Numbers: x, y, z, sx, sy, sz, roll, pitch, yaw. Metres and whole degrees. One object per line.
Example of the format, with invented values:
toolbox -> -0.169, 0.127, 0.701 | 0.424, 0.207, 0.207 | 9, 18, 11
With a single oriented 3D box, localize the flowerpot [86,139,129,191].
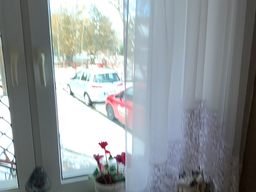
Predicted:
flowerpot -> -0.110, 0.390, 1.080 | 0.170, 0.250, 0.220 | -3, 13, -17
